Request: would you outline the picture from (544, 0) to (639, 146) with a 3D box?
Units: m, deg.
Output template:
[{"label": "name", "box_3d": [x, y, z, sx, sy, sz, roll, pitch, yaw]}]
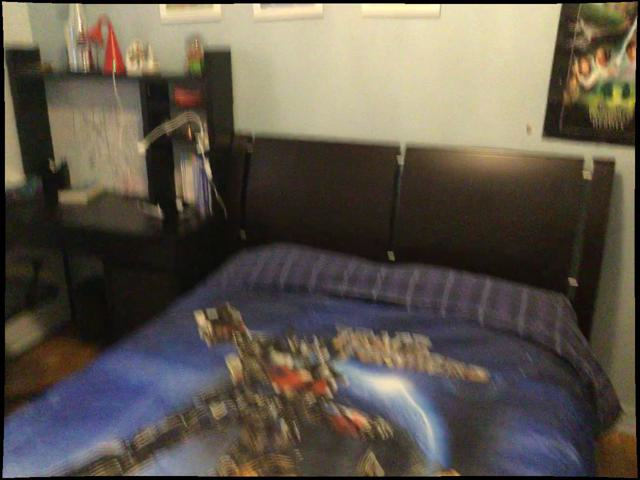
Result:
[{"label": "picture", "box_3d": [1.009, -0.591, 1.890, 0.450, 0.550, 0.060, 7, 22, 18]}]
